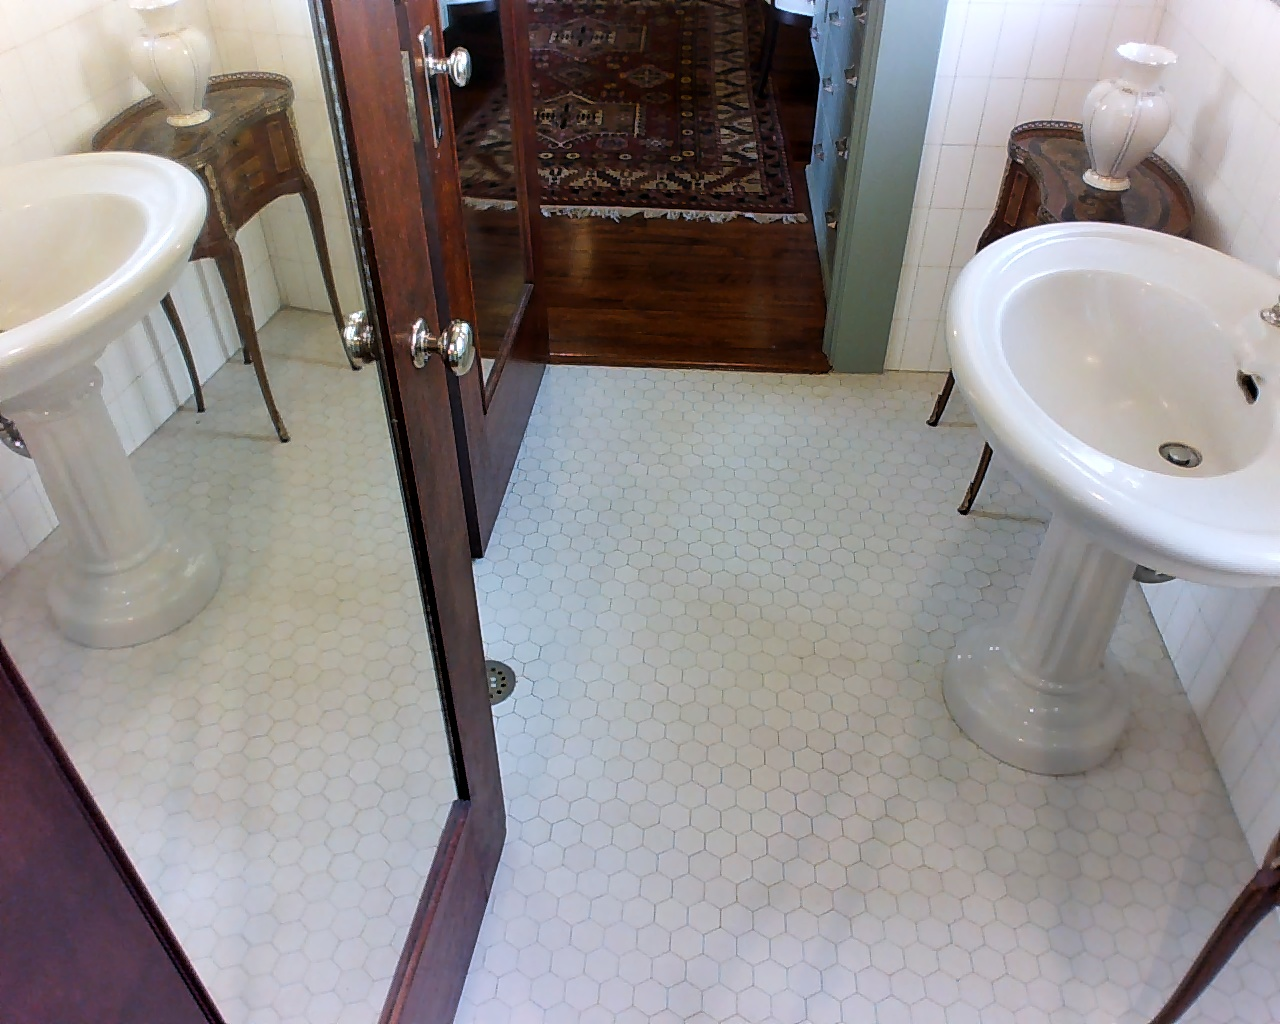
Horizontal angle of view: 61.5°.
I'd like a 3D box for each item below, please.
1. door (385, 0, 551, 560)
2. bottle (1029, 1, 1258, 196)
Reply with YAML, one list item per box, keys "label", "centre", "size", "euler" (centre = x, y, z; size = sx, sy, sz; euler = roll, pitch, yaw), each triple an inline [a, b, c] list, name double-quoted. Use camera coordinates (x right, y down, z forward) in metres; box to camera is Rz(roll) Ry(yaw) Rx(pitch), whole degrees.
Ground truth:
- label: "door"
  centre: [-0.300, -0.970, 1.930]
  size: [0.050, 2.130, 0.870]
  euler: [5, 43, 4]
- label: "bottle"
  centre: [0.940, -0.790, 2.050]
  size: [0.280, 0.260, 0.250]
  euler: [4, 43, 3]
